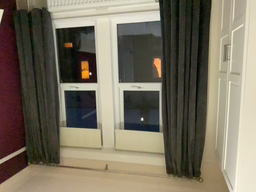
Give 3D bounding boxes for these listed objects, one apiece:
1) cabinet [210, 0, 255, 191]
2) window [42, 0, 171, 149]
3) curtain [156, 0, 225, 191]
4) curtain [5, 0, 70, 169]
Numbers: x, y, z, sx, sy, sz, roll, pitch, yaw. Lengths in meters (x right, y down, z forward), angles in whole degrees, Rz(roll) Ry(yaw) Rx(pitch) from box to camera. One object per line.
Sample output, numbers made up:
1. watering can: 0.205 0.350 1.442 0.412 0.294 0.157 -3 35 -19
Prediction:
1. cabinet: 1.020 -0.410 1.880 0.330 2.360 1.050 0 -171 12
2. window: -0.270 -0.270 3.050 1.740 1.950 0.340 0 -171 11
3. curtain: 0.680 -0.040 2.410 0.670 2.300 0.320 1 -171 15
4. curtain: -1.200 -0.120 2.910 0.580 2.200 0.280 0 -171 10
